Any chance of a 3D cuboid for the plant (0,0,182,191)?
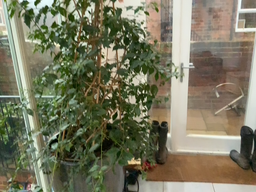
[{"bbox_3d":[-0.070,-0.040,1.340,0.660,1.970,0.990,4,19,18],"label":"plant"}]
